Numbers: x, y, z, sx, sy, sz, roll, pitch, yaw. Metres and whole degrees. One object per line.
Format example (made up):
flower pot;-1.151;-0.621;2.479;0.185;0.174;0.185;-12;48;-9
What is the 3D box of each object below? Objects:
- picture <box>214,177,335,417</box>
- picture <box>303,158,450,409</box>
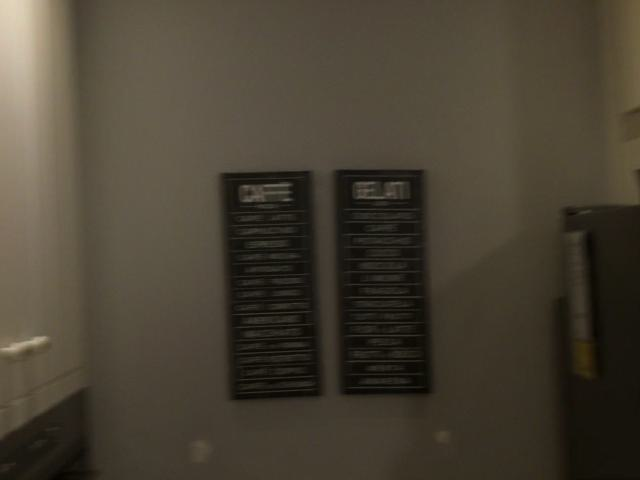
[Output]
picture;-0.100;0.120;1.260;0.230;0.500;0.030;-4;-3;-2
picture;0.120;0.090;1.260;0.280;0.520;0.040;-4;-3;-2
